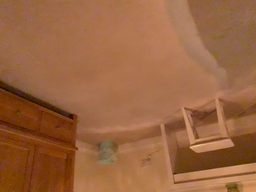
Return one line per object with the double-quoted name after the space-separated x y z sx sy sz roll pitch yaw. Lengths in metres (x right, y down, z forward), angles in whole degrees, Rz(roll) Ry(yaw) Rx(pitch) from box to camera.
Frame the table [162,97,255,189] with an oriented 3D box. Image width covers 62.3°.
1.080 0.580 2.430 1.180 0.780 0.460 -19 149 26 "table"
